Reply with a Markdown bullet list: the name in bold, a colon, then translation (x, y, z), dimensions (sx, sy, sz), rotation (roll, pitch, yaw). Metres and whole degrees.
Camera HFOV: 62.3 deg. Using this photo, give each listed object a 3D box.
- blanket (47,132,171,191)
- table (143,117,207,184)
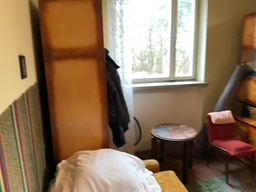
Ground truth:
- **blanket**: translation (-0.200, 0.700, 1.850), dimensions (0.840, 0.400, 0.840), rotation (-4, 12, -15)
- **table**: translation (0.610, 0.710, 3.000), dimensions (0.580, 0.590, 0.750), rotation (-4, 12, -15)
